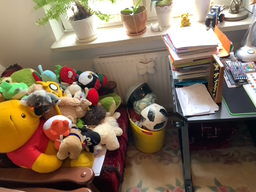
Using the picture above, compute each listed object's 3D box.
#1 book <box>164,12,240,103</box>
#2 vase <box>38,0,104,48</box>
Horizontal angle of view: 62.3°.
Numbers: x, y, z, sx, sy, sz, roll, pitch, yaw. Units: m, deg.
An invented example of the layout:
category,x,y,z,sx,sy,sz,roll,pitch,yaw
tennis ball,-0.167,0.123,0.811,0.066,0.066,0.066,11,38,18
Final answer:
category,x,y,z,sx,sy,sz,roll,pitch,yaw
book,0.390,-0.260,1.260,0.260,0.230,0.610,-7,39,7
vase,-0.440,-0.730,1.630,0.330,0.590,0.330,-5,39,9
